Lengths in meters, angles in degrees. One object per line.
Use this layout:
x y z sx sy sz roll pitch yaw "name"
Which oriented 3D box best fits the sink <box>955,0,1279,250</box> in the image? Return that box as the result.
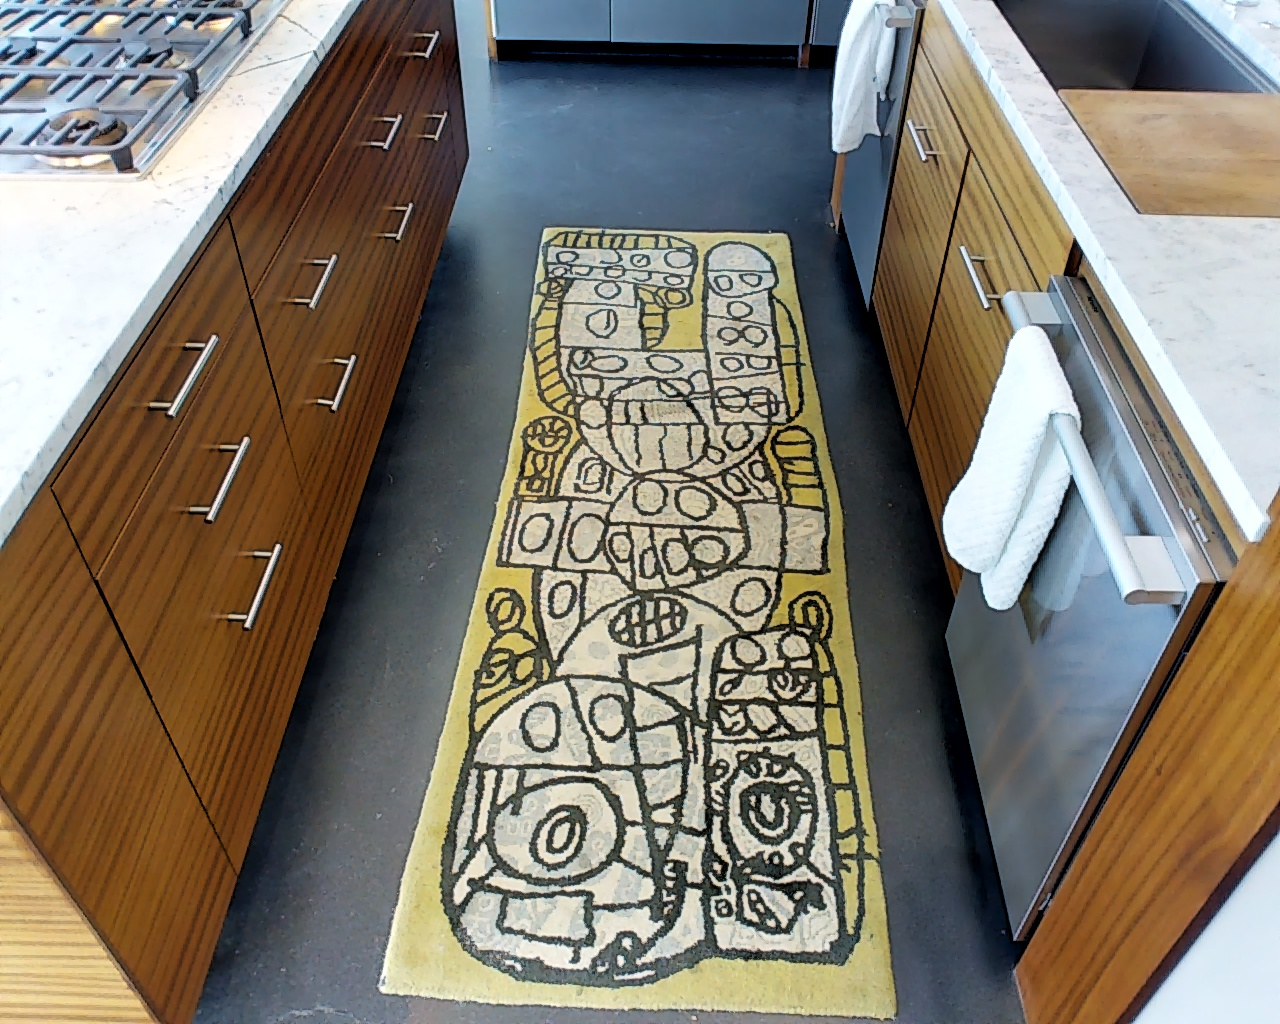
0.930 -0.820 2.050 0.440 0.270 0.780 1 43 0 "sink"
